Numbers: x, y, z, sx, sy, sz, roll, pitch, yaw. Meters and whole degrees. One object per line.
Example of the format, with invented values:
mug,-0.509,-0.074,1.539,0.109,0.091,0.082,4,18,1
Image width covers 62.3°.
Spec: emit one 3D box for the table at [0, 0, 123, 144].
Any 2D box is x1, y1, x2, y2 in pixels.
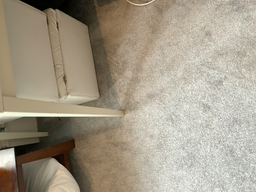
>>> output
table,-0.680,-0.410,1.170,0.730,0.850,1.260,-18,79,26
